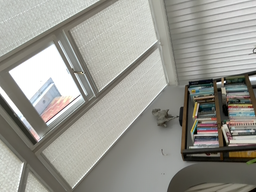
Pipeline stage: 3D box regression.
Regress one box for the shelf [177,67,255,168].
[{"bbox_3d":[1.410,0.180,2.510,1.300,1.520,0.350,-70,-32,-48],"label":"shelf"}]
